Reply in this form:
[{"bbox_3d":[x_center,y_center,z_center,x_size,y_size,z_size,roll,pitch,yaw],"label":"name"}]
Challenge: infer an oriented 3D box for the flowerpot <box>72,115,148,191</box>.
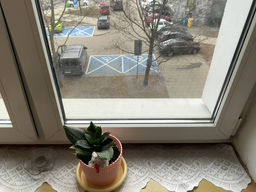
[{"bbox_3d":[-0.050,0.200,0.740,0.220,0.160,0.200,3,34,2],"label":"flowerpot"}]
